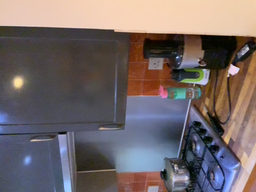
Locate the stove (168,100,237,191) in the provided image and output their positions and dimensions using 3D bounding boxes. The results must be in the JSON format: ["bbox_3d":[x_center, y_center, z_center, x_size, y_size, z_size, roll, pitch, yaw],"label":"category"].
[{"bbox_3d":[0.390,0.420,1.290,0.560,0.040,0.600,-106,18,-61],"label":"stove"}]
